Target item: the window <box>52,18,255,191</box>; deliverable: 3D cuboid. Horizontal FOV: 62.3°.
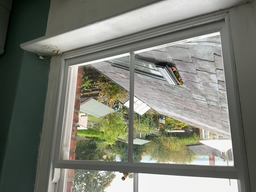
[{"bbox_3d":[0.060,0.300,1.060,1.060,1.210,0.080,-7,163,26],"label":"window"}]
